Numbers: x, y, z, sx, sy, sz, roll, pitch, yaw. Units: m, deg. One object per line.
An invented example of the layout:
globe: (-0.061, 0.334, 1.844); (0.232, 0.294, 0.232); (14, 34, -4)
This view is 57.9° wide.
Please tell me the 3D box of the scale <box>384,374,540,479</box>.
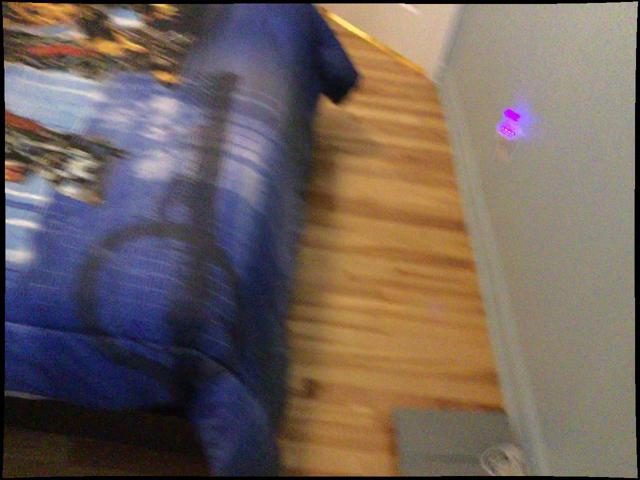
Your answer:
scale: (0.320, 0.470, 1.320); (0.310, 0.050, 0.330); (4, 45, -6)
